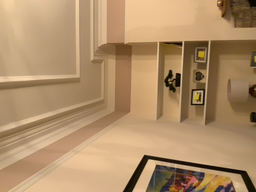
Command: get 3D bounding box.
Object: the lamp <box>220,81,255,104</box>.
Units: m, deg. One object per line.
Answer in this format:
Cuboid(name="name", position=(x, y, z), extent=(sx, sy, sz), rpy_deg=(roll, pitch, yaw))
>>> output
Cuboid(name="lamp", position=(1.410, -0.050, 2.610), extent=(0.300, 0.450, 0.250), rpy_deg=(-9, -78, -74))
